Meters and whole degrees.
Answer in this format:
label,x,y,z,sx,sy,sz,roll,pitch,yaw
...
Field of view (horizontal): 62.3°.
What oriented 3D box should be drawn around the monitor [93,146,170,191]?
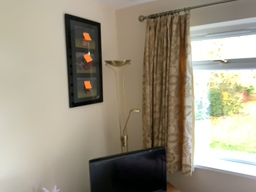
label,x,y,z,sx,sy,sz,roll,pitch,yaw
monitor,0.050,0.700,1.770,0.660,0.460,0.070,-4,7,-22
